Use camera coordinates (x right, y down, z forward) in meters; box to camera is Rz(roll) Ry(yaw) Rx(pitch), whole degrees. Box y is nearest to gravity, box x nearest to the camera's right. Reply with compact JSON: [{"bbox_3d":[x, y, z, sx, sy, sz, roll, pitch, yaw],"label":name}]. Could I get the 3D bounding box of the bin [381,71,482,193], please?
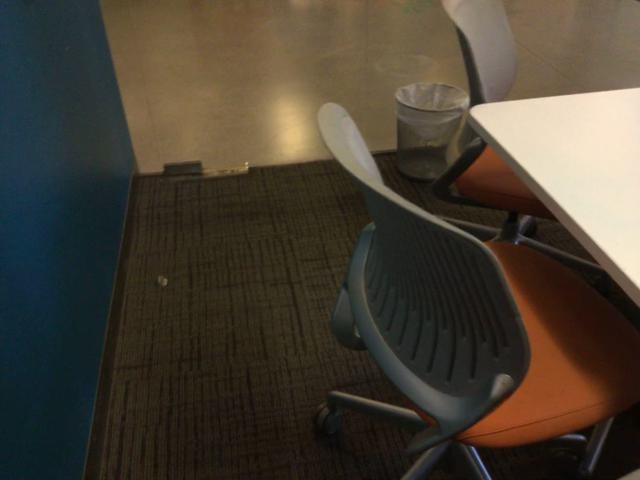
[{"bbox_3d":[0.460,-0.470,2.490,0.320,0.370,0.340,-8,37,-5],"label":"bin"}]
